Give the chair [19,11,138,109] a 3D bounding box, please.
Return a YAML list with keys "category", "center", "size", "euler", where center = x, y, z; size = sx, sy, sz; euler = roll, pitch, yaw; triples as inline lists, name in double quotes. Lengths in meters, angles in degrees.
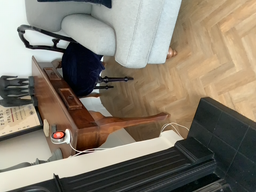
- category: "chair"
  center: [-0.450, -0.290, 1.870]
  size: [0.490, 0.810, 0.570]
  euler: [-43, 60, 50]
